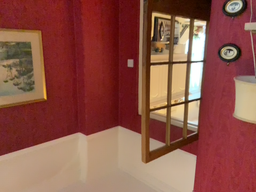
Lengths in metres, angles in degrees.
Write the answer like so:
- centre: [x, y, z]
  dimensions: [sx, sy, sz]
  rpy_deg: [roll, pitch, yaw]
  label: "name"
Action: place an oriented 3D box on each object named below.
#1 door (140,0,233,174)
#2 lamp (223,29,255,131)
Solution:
- centre: [0.440, -0.550, 1.390]
  dimensions: [0.880, 2.010, 0.040]
  rpy_deg: [-10, -163, -37]
  label: "door"
- centre: [0.600, -0.080, 0.990]
  dimensions: [0.190, 0.440, 0.170]
  rpy_deg: [13, -162, 43]
  label: "lamp"
